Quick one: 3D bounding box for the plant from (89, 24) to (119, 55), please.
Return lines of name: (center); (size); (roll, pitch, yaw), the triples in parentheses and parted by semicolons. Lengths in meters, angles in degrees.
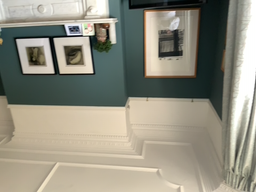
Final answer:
plant: (-0.300, -0.730, 2.730); (0.320, 0.350, 0.230); (1, -159, 7)
